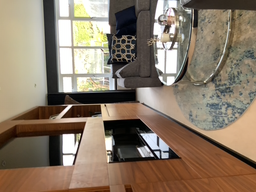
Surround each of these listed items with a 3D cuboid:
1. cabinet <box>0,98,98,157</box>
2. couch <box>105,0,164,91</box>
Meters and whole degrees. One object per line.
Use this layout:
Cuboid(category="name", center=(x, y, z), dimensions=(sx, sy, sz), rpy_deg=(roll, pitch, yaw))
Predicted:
Cuboid(category="cabinet", center=(-1.220, 0.430, 3.670), dimensions=(1.580, 1.360, 0.610), rpy_deg=(-148, 58, -79))
Cuboid(category="couch", center=(0.040, -1.770, 3.570), dimensions=(1.200, 0.790, 3.290), rpy_deg=(-150, 60, -79))
